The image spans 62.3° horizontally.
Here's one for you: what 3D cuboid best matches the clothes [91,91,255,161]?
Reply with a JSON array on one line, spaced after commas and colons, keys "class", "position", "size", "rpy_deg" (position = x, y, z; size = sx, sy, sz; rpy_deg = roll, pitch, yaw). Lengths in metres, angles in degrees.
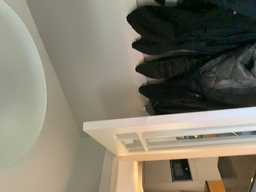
[{"class": "clothes", "position": [0.870, 0.170, 1.140], "size": [0.810, 1.950, 0.130], "rpy_deg": [69, -164, -65]}]
